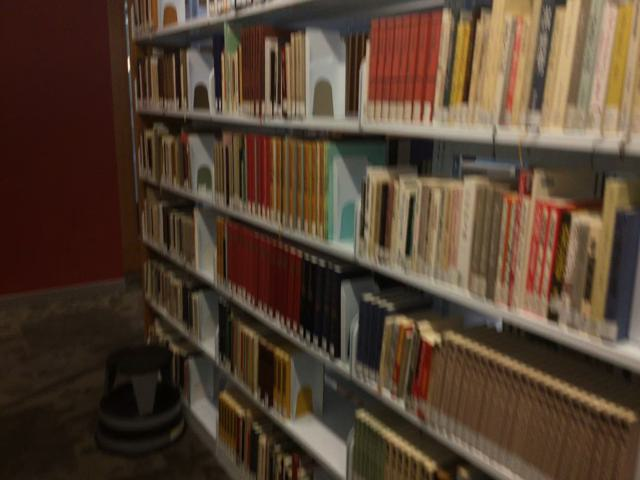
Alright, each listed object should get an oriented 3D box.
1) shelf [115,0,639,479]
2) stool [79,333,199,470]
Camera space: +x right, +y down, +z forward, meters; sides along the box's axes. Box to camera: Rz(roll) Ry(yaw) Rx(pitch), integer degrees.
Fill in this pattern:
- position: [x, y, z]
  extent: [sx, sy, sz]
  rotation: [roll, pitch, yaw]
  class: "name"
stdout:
- position: [0.400, -0.060, 1.470]
  extent: [0.690, 2.260, 3.980]
  rotation: [-6, 18, -34]
  class: "shelf"
- position: [-0.780, 0.670, 2.490]
  extent: [0.390, 0.360, 0.370]
  rotation: [-6, 18, -34]
  class: "stool"
